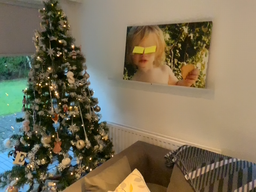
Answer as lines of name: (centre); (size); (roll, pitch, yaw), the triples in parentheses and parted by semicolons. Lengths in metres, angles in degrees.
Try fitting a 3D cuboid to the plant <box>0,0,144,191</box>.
plant: (-0.720, 0.040, 2.180); (1.190, 1.990, 1.280); (10, 16, 33)
